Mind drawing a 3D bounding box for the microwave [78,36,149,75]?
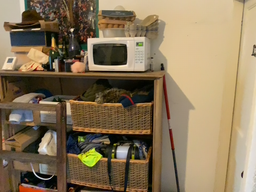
[{"bbox_3d":[-0.100,-0.310,1.630,0.490,0.260,0.230,3,12,14],"label":"microwave"}]
